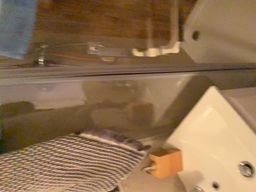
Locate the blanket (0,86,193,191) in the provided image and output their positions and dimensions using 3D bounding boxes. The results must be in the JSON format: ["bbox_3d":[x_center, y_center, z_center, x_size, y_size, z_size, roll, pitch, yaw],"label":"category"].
[{"bbox_3d":[-0.320,0.200,0.630,0.340,1.050,0.210,63,142,30],"label":"blanket"}]
